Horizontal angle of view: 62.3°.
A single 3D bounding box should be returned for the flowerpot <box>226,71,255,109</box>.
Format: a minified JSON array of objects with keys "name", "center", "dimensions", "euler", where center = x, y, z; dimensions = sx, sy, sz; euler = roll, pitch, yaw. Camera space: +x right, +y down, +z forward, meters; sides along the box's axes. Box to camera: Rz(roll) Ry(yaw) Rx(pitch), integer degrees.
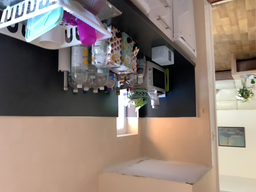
[{"name":"flowerpot","center":[2.590,-0.100,4.670],"dimensions":[0.740,0.680,0.880],"euler":[-3,172,26]}]
